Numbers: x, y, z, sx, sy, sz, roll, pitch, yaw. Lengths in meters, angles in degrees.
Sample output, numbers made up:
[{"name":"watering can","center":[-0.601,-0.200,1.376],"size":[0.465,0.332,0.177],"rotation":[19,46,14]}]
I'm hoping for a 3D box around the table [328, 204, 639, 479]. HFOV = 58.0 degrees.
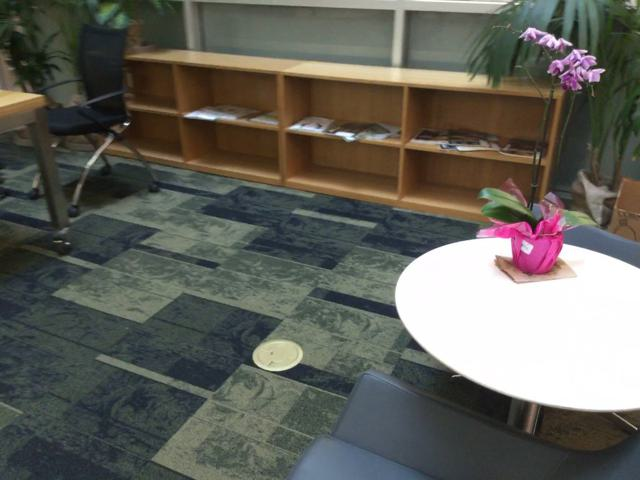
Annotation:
[{"name":"table","center":[0.430,0.410,1.330],"size":[0.600,0.710,0.630],"rotation":[16,27,22]}]
